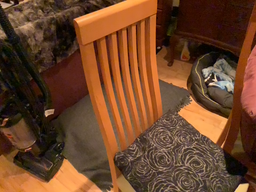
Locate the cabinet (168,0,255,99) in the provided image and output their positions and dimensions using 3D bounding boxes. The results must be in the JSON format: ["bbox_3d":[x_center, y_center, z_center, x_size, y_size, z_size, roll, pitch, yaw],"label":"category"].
[{"bbox_3d":[1.140,-0.540,1.820,1.380,0.920,0.580,24,47,28],"label":"cabinet"}]
